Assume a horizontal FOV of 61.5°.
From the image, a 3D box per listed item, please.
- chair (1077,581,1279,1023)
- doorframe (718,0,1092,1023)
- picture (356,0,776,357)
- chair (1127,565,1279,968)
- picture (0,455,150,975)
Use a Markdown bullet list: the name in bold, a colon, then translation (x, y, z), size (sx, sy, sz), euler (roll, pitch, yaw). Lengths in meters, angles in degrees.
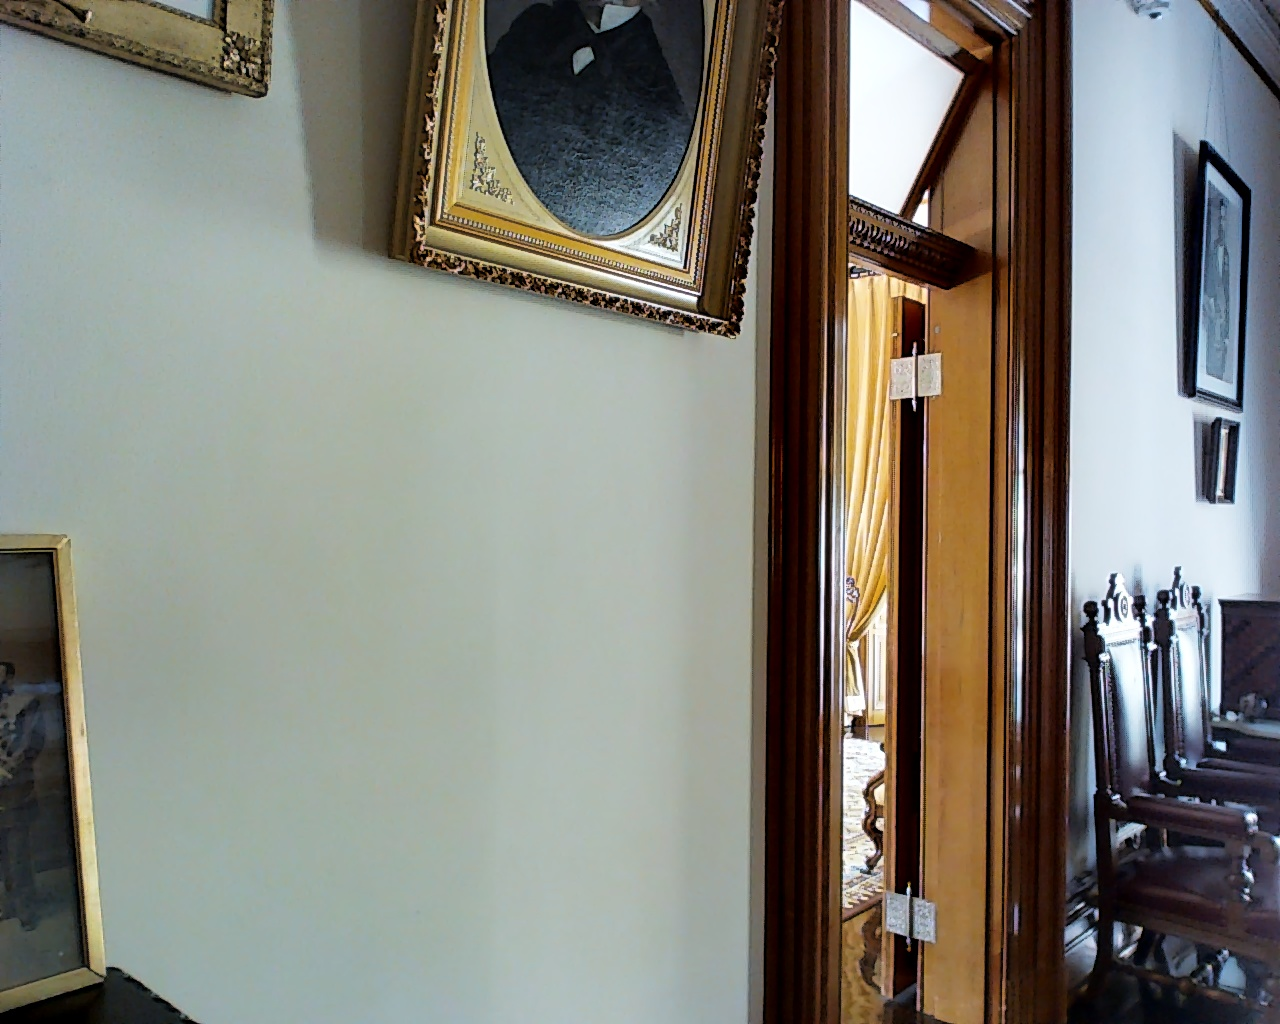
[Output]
- **chair**: translation (1.870, 0.890, 3.480), size (0.610, 1.270, 0.740), euler (1, 0, 42)
- **doorframe**: translation (0.790, -0.090, 2.900), size (0.280, 3.210, 1.470), euler (1, 0, 42)
- **picture**: translation (-0.060, -0.850, 1.840), size (0.140, 1.000, 0.760), euler (1, -7, 42)
- **chair**: translation (2.280, 0.880, 3.980), size (0.680, 1.320, 0.670), euler (1, 0, 42)
- **picture**: translation (-0.800, 0.250, 1.050), size (0.070, 0.530, 0.510), euler (1, 13, 42)
